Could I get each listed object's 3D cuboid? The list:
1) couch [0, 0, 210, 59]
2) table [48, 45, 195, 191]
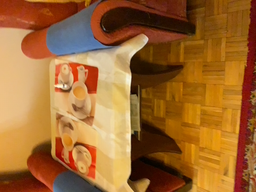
[{"bbox_3d":[-0.250,-0.670,1.090,0.900,1.040,0.860,9,100,47],"label":"couch"},{"bbox_3d":[-0.080,0.070,1.340,0.760,0.540,0.660,9,100,47],"label":"table"}]
